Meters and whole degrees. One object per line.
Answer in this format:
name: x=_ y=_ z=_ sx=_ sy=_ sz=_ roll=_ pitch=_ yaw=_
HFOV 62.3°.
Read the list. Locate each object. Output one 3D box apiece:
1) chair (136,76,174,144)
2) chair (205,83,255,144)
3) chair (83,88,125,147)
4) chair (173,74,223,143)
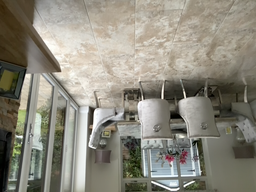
chair: x=0.430 y=0.270 z=3.650 sx=0.540 sy=1.020 sz=0.670 roll=-3 pitch=161 yaw=3
chair: x=2.000 y=0.360 z=4.050 sx=0.670 sy=1.010 sz=0.670 roll=-1 pitch=161 yaw=-1
chair: x=-0.420 y=0.430 z=4.060 sx=0.700 sy=1.010 sz=0.580 roll=-2 pitch=161 yaw=0
chair: x=1.140 y=0.240 z=3.620 sx=0.560 sy=1.010 sz=0.670 roll=-3 pitch=161 yaw=3
